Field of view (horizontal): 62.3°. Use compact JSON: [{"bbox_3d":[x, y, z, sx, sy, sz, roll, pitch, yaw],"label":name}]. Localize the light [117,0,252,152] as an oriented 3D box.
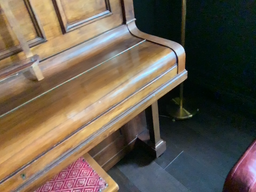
[{"bbox_3d":[0.280,-0.470,1.180,0.420,1.600,0.570,-29,42,-22],"label":"light"}]
